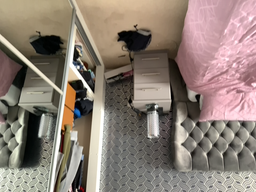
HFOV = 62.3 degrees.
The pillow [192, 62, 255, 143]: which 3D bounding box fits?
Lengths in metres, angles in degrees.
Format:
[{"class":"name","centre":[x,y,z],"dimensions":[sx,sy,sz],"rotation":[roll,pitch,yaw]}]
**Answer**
[{"class":"pillow","centre":[1.030,0.060,2.080],"dimensions":[0.660,0.420,0.230],"rotation":[-43,160,-8]}]
